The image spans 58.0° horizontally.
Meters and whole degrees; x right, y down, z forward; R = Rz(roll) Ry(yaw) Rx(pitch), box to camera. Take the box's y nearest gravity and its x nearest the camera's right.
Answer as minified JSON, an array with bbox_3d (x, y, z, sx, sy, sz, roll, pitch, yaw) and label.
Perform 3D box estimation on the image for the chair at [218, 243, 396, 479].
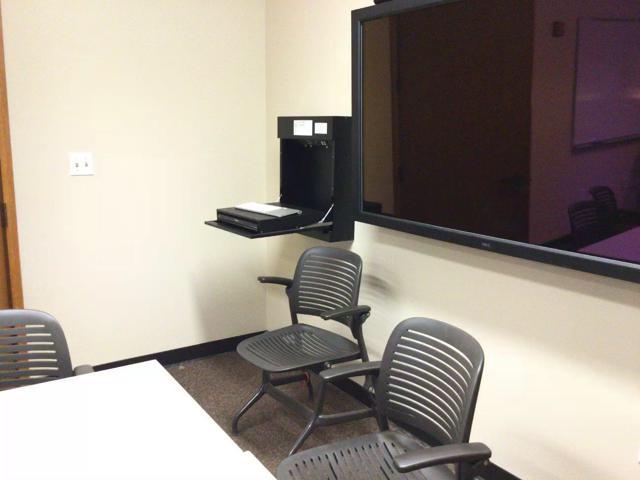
[{"bbox_3d":[-0.080,0.470,2.510,0.540,0.800,0.530,-4,12,-32],"label":"chair"}]

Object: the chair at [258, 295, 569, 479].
[{"bbox_3d":[0.200,0.680,1.620,0.510,0.860,0.640,-4,12,-32],"label":"chair"}]
